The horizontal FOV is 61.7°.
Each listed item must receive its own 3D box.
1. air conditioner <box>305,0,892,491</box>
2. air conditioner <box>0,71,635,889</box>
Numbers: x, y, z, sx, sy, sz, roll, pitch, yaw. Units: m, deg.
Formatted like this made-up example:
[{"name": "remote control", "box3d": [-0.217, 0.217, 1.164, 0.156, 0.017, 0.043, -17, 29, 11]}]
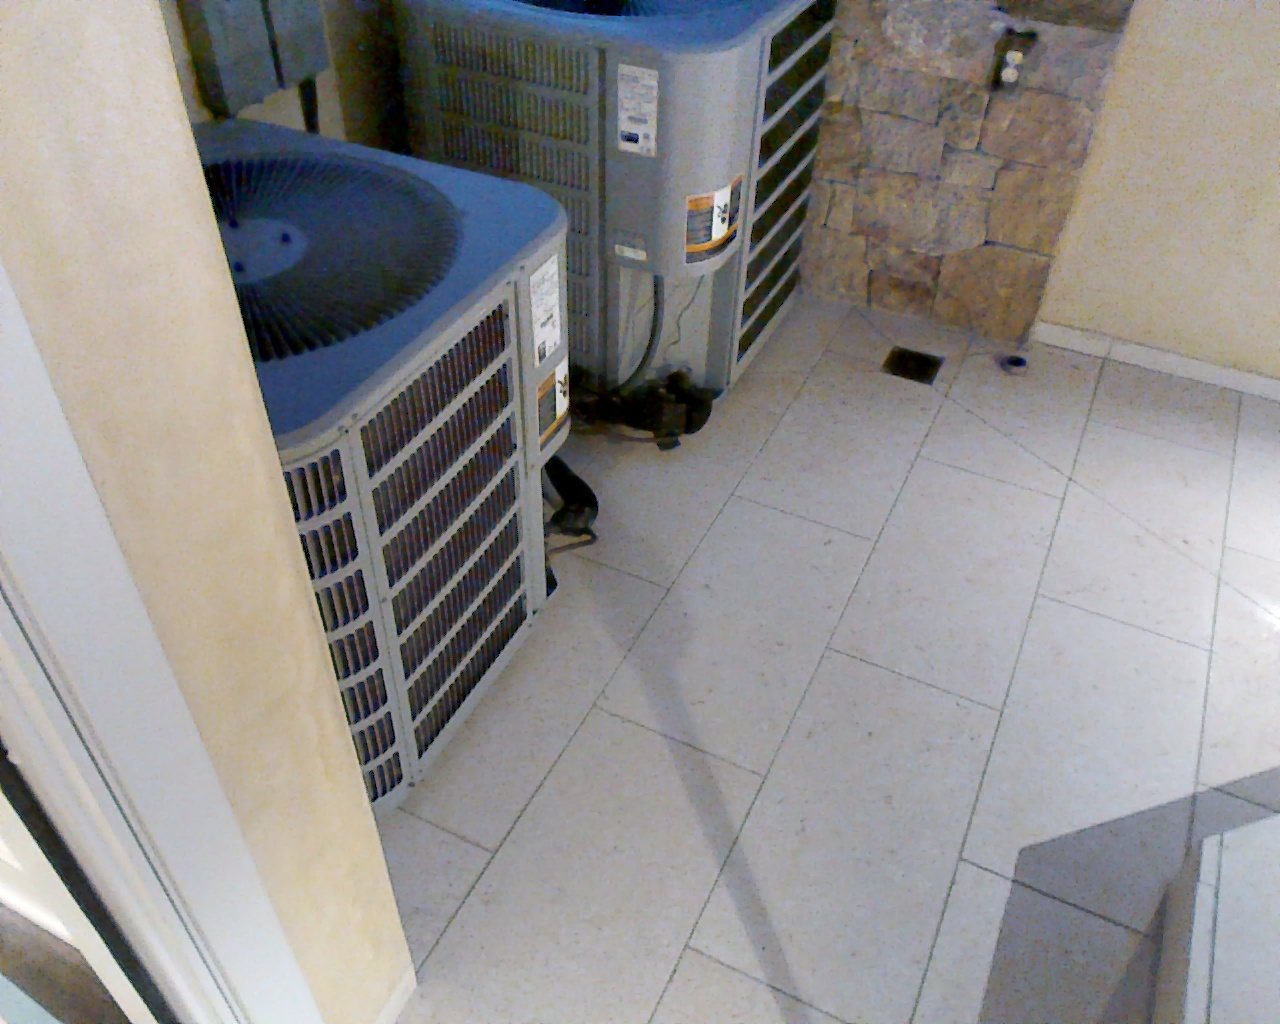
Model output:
[{"name": "air conditioner", "box3d": [-0.050, -0.780, 2.420, 0.910, 0.930, 0.830, 20, 45, 18]}, {"name": "air conditioner", "box3d": [-0.570, -0.100, 1.730, 0.840, 0.800, 0.790, 20, 45, 18]}]
